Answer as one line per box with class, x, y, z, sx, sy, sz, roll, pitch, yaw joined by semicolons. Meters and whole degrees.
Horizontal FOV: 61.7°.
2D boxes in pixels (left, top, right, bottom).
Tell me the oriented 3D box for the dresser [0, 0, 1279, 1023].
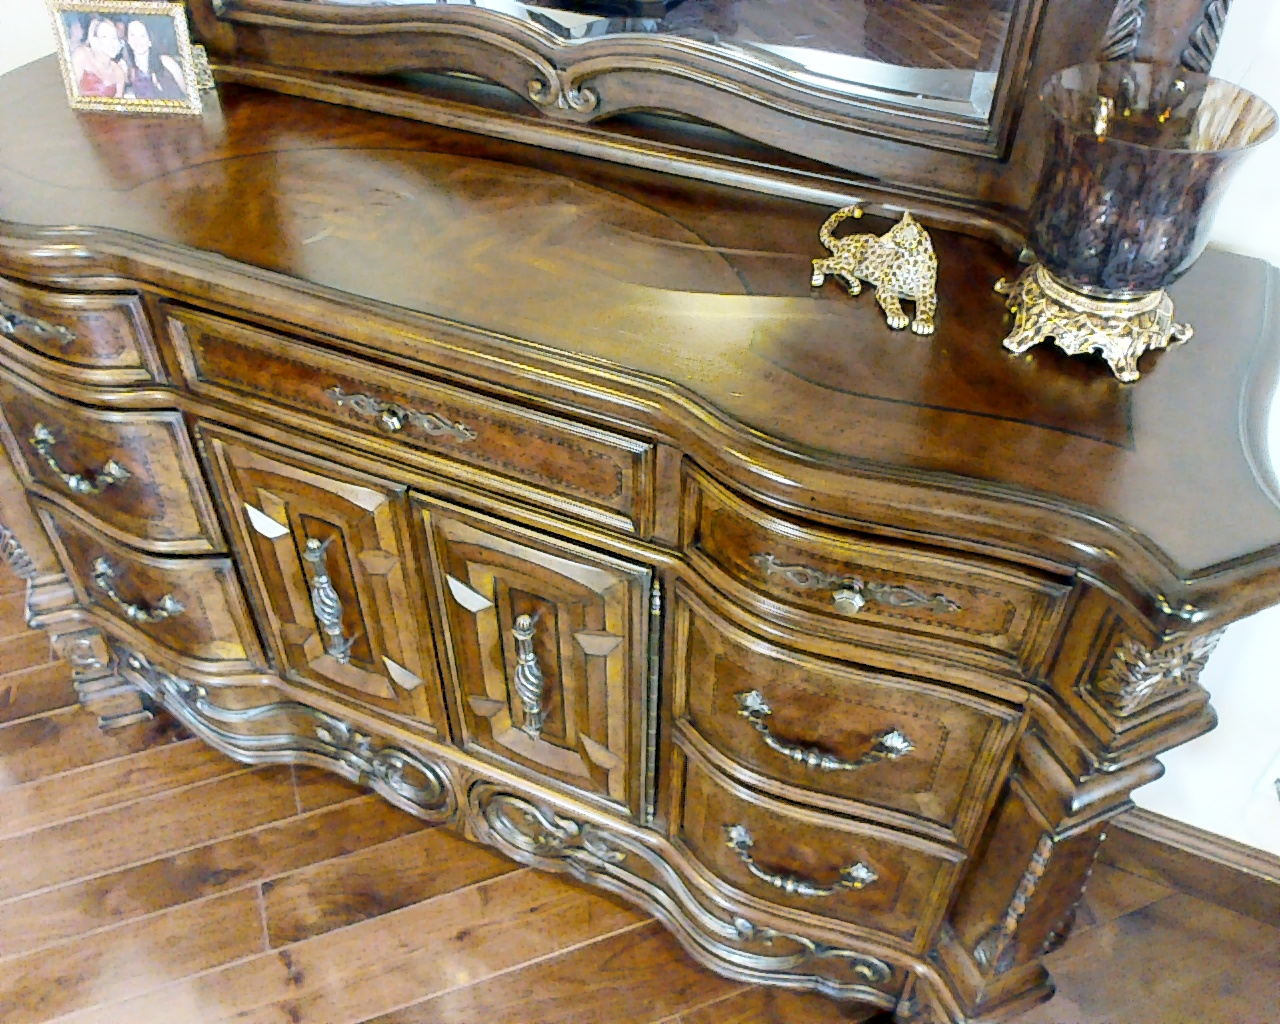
dresser;-0.170;-0.380;1.110;1.750;2.340;0.580;17;45;18
